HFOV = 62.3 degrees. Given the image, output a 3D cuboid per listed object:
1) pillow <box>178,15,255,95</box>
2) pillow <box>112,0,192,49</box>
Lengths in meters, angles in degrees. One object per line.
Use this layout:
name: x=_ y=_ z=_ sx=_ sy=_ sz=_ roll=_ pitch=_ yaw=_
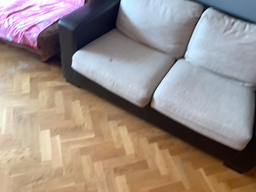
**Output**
pillow: x=0.760 y=-0.330 z=1.650 sx=0.620 sy=0.510 sz=0.230 roll=13 pitch=18 yaw=23
pillow: x=0.190 y=-0.660 z=1.780 sx=0.620 sy=0.480 sz=0.160 roll=7 pitch=8 yaw=23
